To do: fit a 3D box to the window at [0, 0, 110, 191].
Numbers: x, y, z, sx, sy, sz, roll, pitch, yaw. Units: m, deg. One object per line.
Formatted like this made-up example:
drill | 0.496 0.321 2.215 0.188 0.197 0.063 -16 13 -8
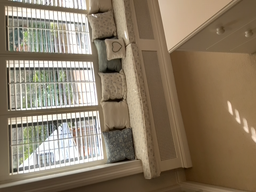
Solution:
window | -0.950 -0.430 2.530 0.040 1.190 2.790 149 115 -62
